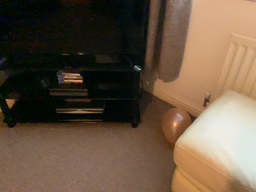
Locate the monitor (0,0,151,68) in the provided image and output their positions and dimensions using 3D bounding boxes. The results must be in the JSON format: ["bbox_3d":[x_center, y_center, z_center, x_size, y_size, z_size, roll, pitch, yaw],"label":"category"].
[{"bbox_3d":[-0.370,-0.450,1.180,0.980,0.600,0.080,-2,38,-3],"label":"monitor"}]

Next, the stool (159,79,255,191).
[{"bbox_3d":[0.670,0.380,1.020,0.760,0.460,0.640,30,46,32],"label":"stool"}]

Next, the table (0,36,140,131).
[{"bbox_3d":[-0.410,-0.110,1.620,0.970,0.490,0.540,1,38,1],"label":"table"}]
